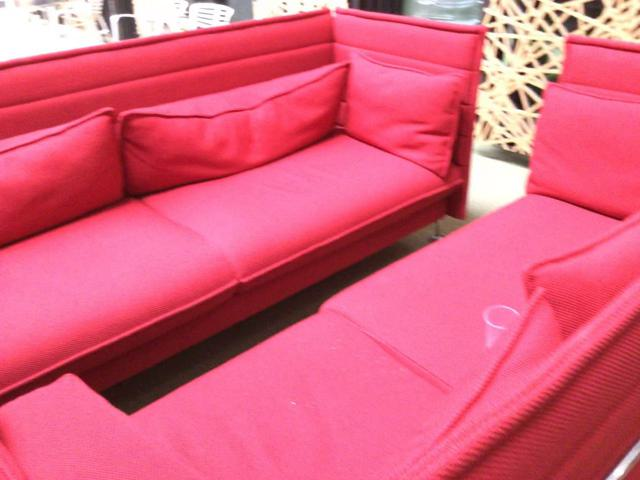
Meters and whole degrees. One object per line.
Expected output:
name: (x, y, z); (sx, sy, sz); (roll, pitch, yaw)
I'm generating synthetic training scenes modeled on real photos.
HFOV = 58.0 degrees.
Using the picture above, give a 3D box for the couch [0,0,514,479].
couch: (-0.490, -0.200, 1.960); (2.450, 0.880, 0.930); (-25, 36, -35)
